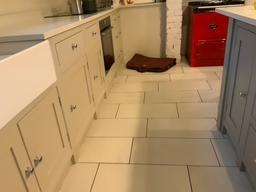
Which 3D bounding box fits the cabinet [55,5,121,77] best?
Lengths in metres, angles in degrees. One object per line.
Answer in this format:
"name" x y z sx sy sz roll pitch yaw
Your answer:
"cabinet" -0.530 -0.850 3.200 0.690 0.890 0.730 -1 26 7
